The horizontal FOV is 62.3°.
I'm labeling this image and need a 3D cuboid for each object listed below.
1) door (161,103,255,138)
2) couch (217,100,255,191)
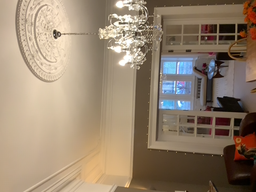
[{"bbox_3d":[1.600,0.470,4.230,0.150,1.850,0.580,10,-98,-80],"label":"door"},{"bbox_3d":[1.900,0.770,3.100,1.060,0.830,0.880,-77,-15,-44],"label":"couch"}]
